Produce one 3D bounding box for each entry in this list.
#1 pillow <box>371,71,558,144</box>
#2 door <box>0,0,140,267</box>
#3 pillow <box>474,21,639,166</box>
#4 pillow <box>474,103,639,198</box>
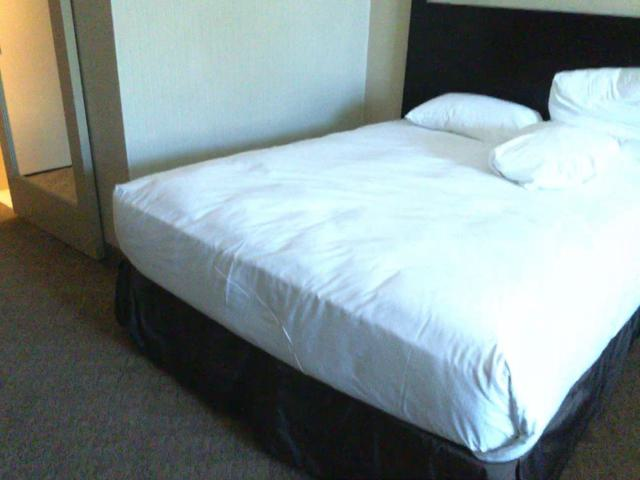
[{"bbox_3d":[0.710,-0.690,2.910,0.770,0.190,0.460,22,30,37],"label":"pillow"},{"bbox_3d":[-1.300,-0.940,2.700,1.010,1.950,0.200,22,30,37],"label":"door"},{"bbox_3d":[1.160,-0.660,2.490,0.780,0.470,0.450,22,30,37],"label":"pillow"},{"bbox_3d":[0.940,-0.370,2.230,0.410,0.180,0.620,22,30,37],"label":"pillow"}]
